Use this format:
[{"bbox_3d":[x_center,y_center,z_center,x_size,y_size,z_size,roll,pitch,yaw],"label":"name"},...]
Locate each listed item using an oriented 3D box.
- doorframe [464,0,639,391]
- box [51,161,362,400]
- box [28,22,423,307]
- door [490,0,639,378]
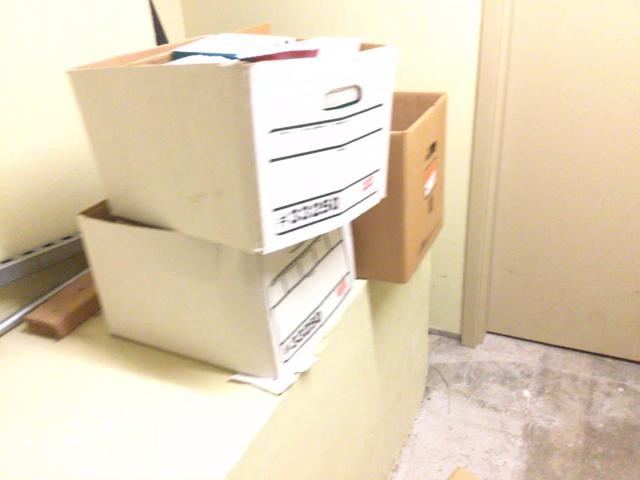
[{"bbox_3d":[0.900,-0.220,1.540,0.990,1.450,0.140,7,29,26],"label":"doorframe"},{"bbox_3d":[-0.180,0.040,1.040,0.400,0.250,0.320,7,29,26],"label":"box"},{"bbox_3d":[-0.140,-0.170,0.940,0.470,0.290,0.380,16,34,39],"label":"box"},{"bbox_3d":[0.920,-0.230,1.580,0.840,1.440,0.090,7,29,26],"label":"door"}]
